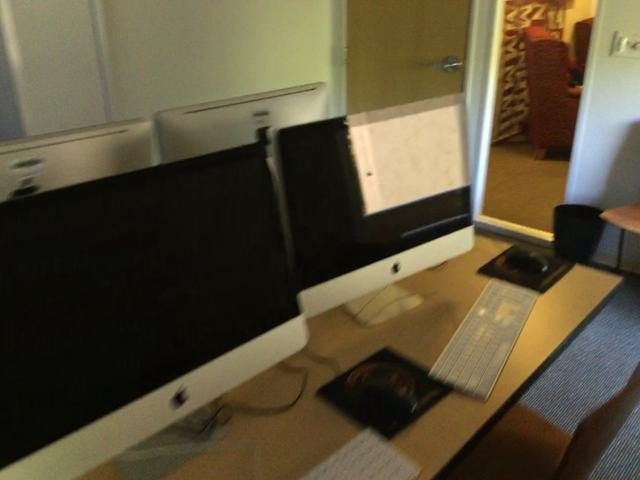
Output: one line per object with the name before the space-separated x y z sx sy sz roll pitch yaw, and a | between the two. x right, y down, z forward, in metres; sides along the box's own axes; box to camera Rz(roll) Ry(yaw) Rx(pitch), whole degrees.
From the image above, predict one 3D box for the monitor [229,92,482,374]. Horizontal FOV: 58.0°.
monitor | 0.090 -0.040 1.200 0.530 0.450 0.130 -18 30 -34
